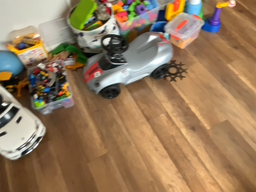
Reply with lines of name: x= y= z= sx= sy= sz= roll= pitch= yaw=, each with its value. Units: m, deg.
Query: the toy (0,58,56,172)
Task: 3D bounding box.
toy: x=-0.820 y=0.110 z=1.420 sx=0.420 sy=0.240 sz=0.640 roll=-25 pitch=59 yaw=-12

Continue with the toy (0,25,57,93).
toy: x=-0.910 y=-0.290 z=1.710 sx=0.520 sy=0.330 sz=0.210 roll=-25 pitch=59 yaw=-12

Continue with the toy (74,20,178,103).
toy: x=-0.010 y=-0.270 z=1.610 sx=0.660 sy=0.230 sz=0.340 roll=-25 pitch=59 yaw=-12

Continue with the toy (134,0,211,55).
toy: x=0.350 y=-0.700 z=1.840 sx=0.380 sy=0.300 sz=0.530 roll=-25 pitch=59 yaw=-12

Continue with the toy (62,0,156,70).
toy: x=-0.140 y=-0.600 z=1.750 sx=0.600 sy=0.430 sz=0.400 roll=-24 pitch=59 yaw=-11

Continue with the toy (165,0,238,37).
toy: x=0.640 y=-0.910 z=1.850 sx=0.390 sy=0.480 sz=0.480 roll=-27 pitch=59 yaw=-13
